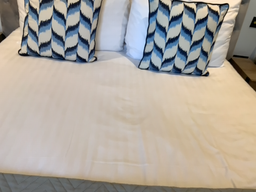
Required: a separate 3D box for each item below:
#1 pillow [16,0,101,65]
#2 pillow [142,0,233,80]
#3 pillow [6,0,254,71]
[{"bbox_3d":[-0.370,-0.400,1.170,0.400,0.380,0.170,7,17,-7],"label":"pillow"},{"bbox_3d":[0.310,-0.340,1.230,0.380,0.410,0.180,7,28,-4],"label":"pillow"},{"bbox_3d":[-0.010,-0.520,1.390,1.360,0.450,0.340,6,36,-4],"label":"pillow"}]
